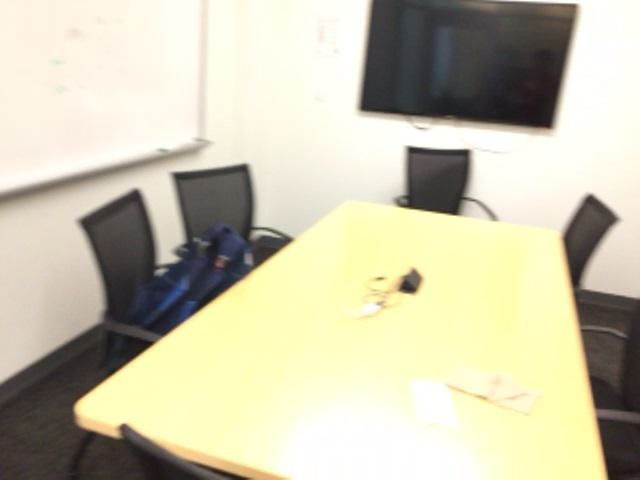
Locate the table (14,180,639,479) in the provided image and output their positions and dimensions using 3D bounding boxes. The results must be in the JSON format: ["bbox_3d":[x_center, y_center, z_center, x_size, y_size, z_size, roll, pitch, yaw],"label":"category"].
[{"bbox_3d":[0.230,0.450,1.980,1.120,0.800,2.000,10,19,16],"label":"table"}]

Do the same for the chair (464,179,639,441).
[{"bbox_3d":[0.920,0.260,2.400,0.470,0.890,0.480,9,19,16],"label":"chair"}]

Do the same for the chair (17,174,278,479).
[{"bbox_3d":[-0.530,0.290,1.930,0.590,0.870,0.510,10,19,16],"label":"chair"}]

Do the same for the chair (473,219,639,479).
[{"bbox_3d":[0.780,0.500,1.660,0.550,0.930,0.600,9,19,16],"label":"chair"}]

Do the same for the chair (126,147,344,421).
[{"bbox_3d":[-0.370,0.120,2.440,0.620,0.890,0.610,-13,25,-41],"label":"chair"}]
